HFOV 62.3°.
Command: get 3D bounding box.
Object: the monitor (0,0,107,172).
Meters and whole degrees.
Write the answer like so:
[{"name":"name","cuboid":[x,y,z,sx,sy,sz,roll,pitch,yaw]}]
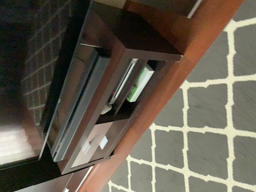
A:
[{"name":"monitor","cuboid":[-0.770,0.040,1.250,0.060,0.880,1.480,53,128,32]}]
